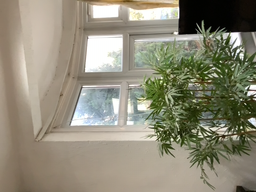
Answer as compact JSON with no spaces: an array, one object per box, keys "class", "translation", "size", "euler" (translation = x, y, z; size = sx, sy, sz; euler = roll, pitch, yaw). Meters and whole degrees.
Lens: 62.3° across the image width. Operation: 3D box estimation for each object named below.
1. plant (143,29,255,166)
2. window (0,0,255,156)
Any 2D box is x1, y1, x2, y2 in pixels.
[{"class":"plant","translation":[0.900,-0.010,1.140],"size":[0.520,1.620,0.540],"euler":[-86,-6,-54]},{"class":"window","translation":[-0.010,-1.130,1.560],"size":[1.140,1.510,2.800],"euler":[-66,-25,-82]}]
